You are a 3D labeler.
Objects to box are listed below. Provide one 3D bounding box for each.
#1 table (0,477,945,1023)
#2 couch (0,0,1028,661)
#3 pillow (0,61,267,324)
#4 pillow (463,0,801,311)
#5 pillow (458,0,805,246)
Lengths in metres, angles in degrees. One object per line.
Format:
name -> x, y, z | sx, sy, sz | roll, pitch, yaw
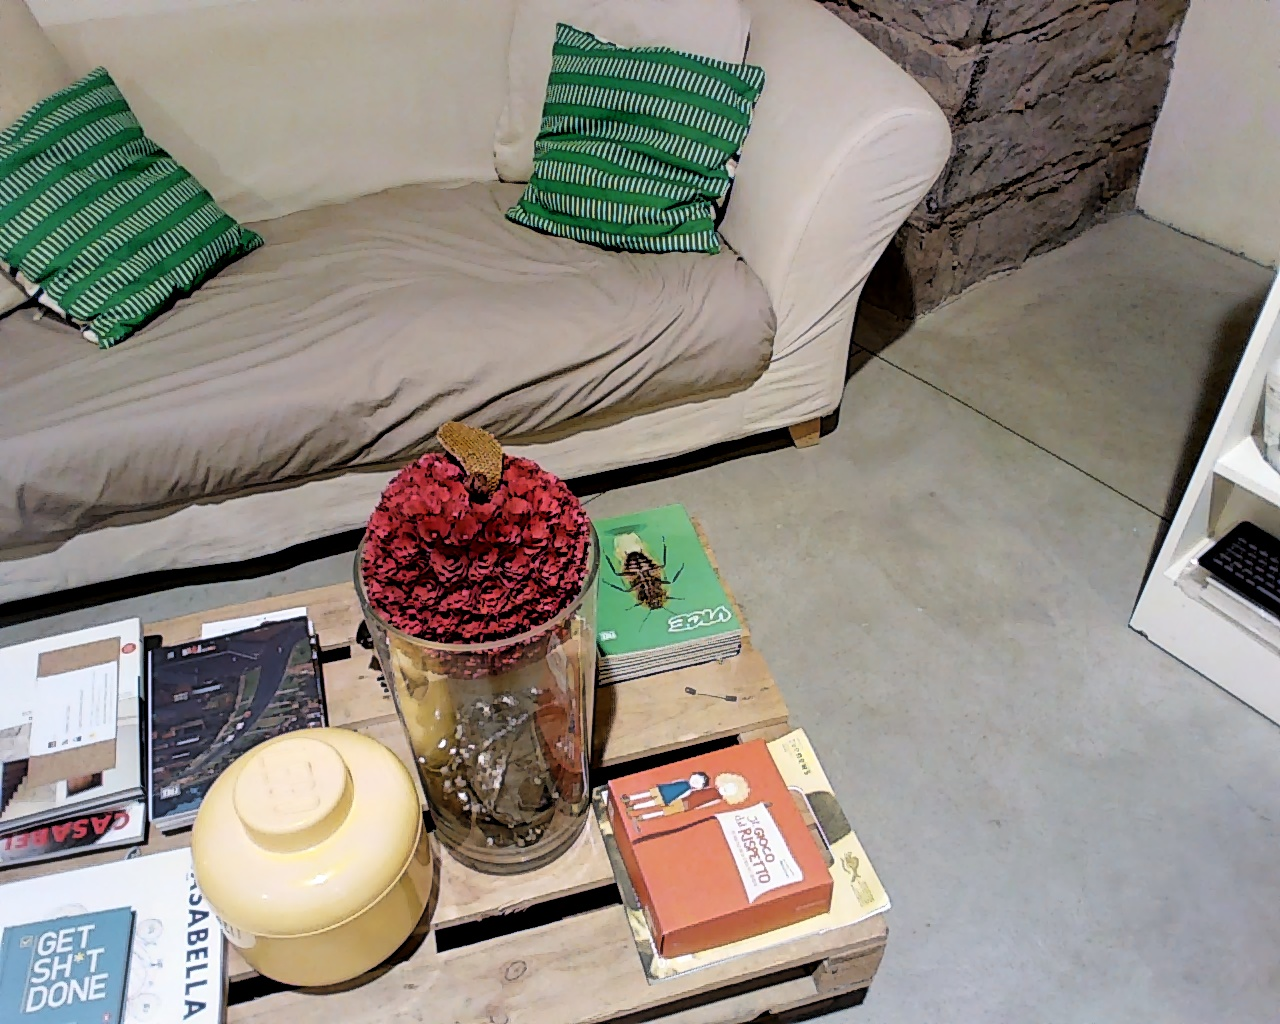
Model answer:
table -> -0.340, 0.440, 1.520 | 1.210, 0.310, 0.810 | -12, 44, -12
couch -> -0.630, -0.560, 2.200 | 2.269, 0.770, 1.220 | -12, 44, -12
pillow -> -1.010, -0.600, 2.040 | 0.180, 0.420, 0.470 | 45, 19, -6
pillow -> -0.020, -0.740, 2.140 | 0.520, 0.420, 0.110 | 43, 21, 1
pillow -> -0.030, -0.950, 2.290 | 0.540, 0.500, 0.200 | 35, 35, 2
